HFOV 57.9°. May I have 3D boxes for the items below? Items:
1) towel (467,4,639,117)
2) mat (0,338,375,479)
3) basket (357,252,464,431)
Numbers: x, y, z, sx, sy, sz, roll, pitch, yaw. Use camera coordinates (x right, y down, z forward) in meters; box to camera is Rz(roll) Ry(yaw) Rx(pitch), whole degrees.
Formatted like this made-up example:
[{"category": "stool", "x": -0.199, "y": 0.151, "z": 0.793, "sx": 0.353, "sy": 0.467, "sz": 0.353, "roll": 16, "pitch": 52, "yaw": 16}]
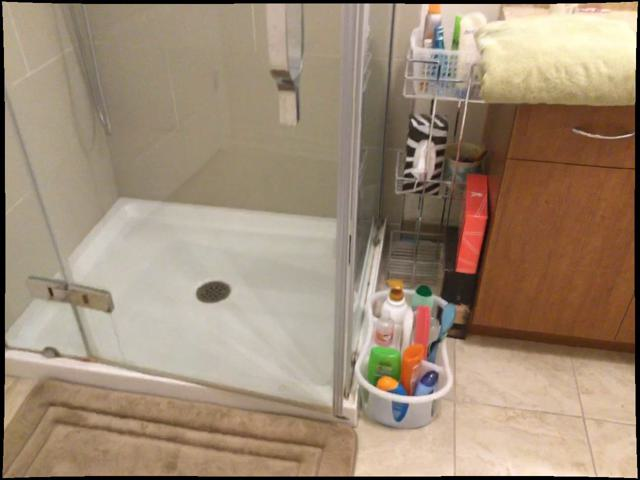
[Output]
[{"category": "towel", "x": 0.539, "y": -0.400, "z": 1.260, "sx": 0.390, "sy": 0.110, "sz": 0.330, "roll": 4, "pitch": 39, "yaw": 6}, {"category": "mat", "x": -0.370, "y": 0.571, "z": 1.300, "sx": 0.939, "sy": 0.090, "sz": 0.740, "roll": 4, "pitch": 39, "yaw": 6}, {"category": "basket", "x": 0.240, "y": 0.260, "z": 1.570, "sx": 0.240, "sy": 0.230, "sz": 0.410, "roll": 4, "pitch": 39, "yaw": 6}]
